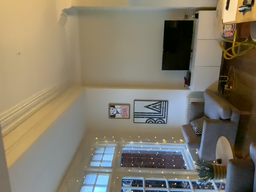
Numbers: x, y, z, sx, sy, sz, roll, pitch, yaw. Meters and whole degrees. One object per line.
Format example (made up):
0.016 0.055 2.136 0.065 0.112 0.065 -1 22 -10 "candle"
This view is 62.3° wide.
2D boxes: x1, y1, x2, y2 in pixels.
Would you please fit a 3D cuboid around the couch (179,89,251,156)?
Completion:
1.430 0.410 3.730 0.950 0.810 0.840 -83 -6 -73 "couch"
